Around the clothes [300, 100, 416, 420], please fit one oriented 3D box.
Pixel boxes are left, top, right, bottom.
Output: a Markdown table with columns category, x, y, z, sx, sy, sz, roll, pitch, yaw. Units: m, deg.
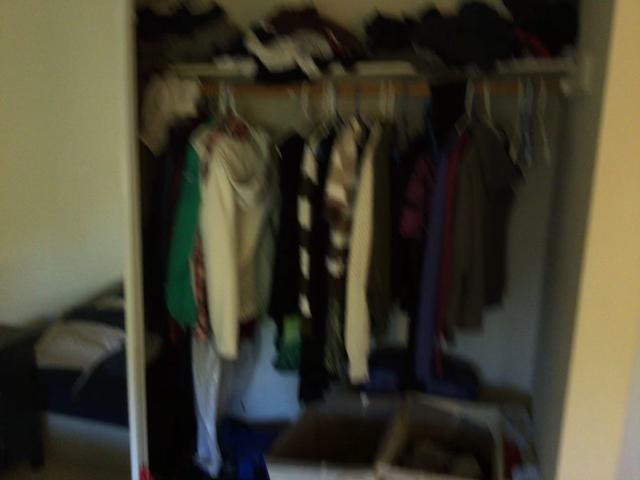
| category | x | y | z | sx | sy | sz | roll | pitch | yaw |
| --- | --- | --- | --- | --- | --- | --- | --- | --- | --- |
| clothes | 0.150 | 0.040 | 2.000 | 0.230 | 0.950 | 0.560 | 4 | 6 | 17 |

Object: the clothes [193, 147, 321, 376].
| category | x | y | z | sx | sy | sz | roll | pitch | yaw |
| --- | --- | --- | --- | --- | --- | --- | --- | --- | --- |
| clothes | -0.210 | 0.050 | 2.050 | 0.290 | 0.720 | 0.410 | 4 | 6 | 17 |

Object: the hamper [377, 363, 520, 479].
| category | x | y | z | sx | sy | sz | roll | pitch | yaw |
| --- | --- | --- | --- | --- | --- | --- | --- | --- | --- |
| hamper | 0.410 | 0.830 | 1.850 | 0.370 | 0.690 | 0.540 | 4 | 6 | 17 |

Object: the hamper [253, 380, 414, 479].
| category | x | y | z | sx | sy | sz | roll | pitch | yaw |
| --- | --- | --- | --- | --- | --- | --- | --- | --- | --- |
| hamper | 0.060 | 0.860 | 1.900 | 0.390 | 0.600 | 0.520 | 4 | 6 | 17 |
